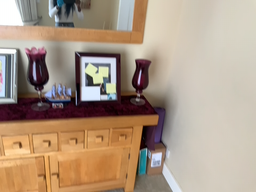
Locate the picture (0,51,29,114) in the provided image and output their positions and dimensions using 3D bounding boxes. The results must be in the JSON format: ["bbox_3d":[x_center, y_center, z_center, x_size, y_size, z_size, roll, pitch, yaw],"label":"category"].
[{"bbox_3d":[-0.950,-0.120,1.480,0.340,0.390,0.110,25,6,-24],"label":"picture"}]

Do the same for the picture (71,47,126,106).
[{"bbox_3d":[-0.230,-0.140,1.620,0.310,0.370,0.140,11,16,-24],"label":"picture"}]
